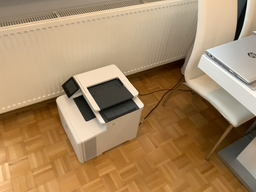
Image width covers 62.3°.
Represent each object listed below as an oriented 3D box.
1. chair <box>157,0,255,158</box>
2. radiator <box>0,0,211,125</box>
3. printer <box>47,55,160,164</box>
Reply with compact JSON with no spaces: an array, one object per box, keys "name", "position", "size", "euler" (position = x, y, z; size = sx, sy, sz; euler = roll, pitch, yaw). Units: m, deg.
[{"name":"chair","position":[0.620,-0.130,1.430],"size":[0.410,0.910,0.600],"euler":[-19,52,-24]},{"name":"radiator","position":[-0.230,-0.310,1.580],"size":[1.860,0.740,0.140],"euler":[-18,51,-23]},{"name":"printer","position":[-0.180,0.070,1.490],"size":[0.570,0.410,0.460],"euler":[-19,52,-24]}]
